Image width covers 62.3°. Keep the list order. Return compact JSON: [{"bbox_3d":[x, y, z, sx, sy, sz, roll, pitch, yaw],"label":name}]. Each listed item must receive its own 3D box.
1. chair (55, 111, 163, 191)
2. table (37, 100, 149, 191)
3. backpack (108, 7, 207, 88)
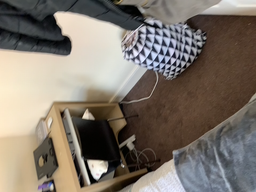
[{"bbox_3d":[-0.190,0.510,1.910,0.610,0.670,0.430,-54,52,35],"label":"chair"},{"bbox_3d":[-0.380,0.540,2.100,0.550,0.720,0.830,-50,54,37],"label":"table"},{"bbox_3d":[0.210,-0.320,1.560,0.350,0.520,0.370,-49,55,38],"label":"backpack"}]
